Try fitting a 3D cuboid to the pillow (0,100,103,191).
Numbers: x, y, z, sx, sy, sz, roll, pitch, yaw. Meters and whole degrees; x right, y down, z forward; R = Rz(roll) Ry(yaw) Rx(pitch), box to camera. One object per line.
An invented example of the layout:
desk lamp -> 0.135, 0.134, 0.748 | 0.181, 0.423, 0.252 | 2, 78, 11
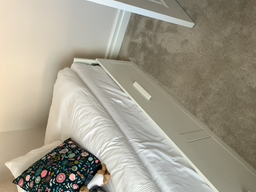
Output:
pillow -> -0.430, 0.710, 1.090 | 1.430, 0.410, 0.690 | 45, 126, 41
